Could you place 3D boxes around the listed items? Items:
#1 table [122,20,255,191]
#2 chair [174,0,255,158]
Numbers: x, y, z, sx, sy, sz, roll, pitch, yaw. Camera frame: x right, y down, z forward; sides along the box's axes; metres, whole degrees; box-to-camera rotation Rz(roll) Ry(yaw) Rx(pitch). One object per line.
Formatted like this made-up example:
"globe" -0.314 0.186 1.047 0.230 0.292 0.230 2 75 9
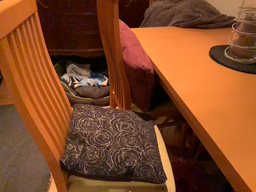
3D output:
"table" 0.530 0.150 1.200 0.860 0.790 1.250 -7 35 -12
"chair" 0.700 -0.140 1.380 0.540 1.090 0.350 -6 35 -11
